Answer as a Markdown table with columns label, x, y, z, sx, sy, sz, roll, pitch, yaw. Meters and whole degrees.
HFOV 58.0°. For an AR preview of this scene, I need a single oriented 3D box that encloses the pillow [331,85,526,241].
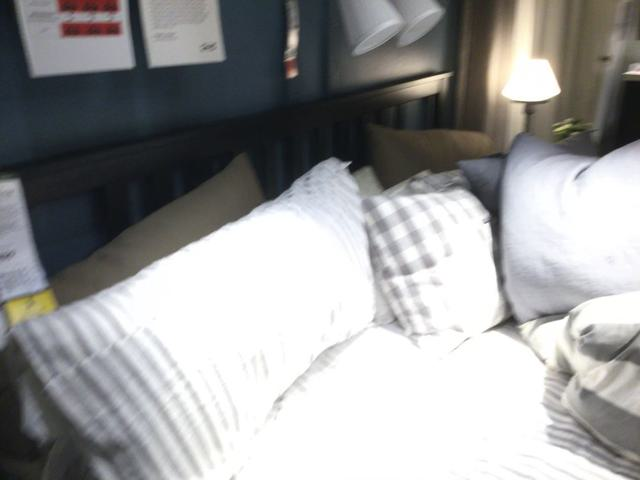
| label | x | y | z | sx | sy | sz | roll | pitch | yaw |
| --- | --- | --- | --- | --- | --- | --- | --- | --- | --- |
| pillow | 0.450 | -0.340 | 2.230 | 0.320 | 0.370 | 0.850 | 15 | 30 | 39 |

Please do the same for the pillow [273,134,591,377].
| label | x | y | z | sx | sy | sz | roll | pitch | yaw |
| --- | --- | --- | --- | --- | --- | --- | --- | --- | --- |
| pillow | 0.330 | -0.030 | 1.630 | 0.570 | 0.350 | 0.690 | 15 | 30 | 39 |

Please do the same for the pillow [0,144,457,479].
| label | x | y | z | sx | sy | sz | roll | pitch | yaw |
| --- | --- | --- | --- | --- | --- | --- | --- | --- | --- |
| pillow | -0.160 | 0.150 | 1.260 | 0.490 | 0.470 | 0.940 | 15 | 30 | 39 |

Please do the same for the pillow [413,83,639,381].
| label | x | y | z | sx | sy | sz | roll | pitch | yaw |
| --- | --- | --- | --- | --- | --- | --- | --- | --- | --- |
| pillow | 0.750 | -0.050 | 1.280 | 0.900 | 0.470 | 0.580 | 15 | 30 | 39 |
